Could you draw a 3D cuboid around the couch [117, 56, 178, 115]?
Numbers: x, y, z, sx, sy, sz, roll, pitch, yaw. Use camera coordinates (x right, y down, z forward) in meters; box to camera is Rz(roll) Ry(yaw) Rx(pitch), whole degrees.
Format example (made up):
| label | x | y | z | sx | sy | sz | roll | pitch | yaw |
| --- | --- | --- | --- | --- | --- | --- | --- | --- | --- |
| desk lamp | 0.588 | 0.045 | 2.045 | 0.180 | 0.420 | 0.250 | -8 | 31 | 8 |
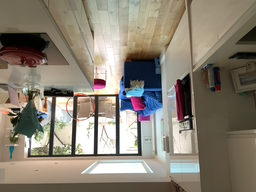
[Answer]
| label | x | y | z | sx | sy | sz | roll | pitch | yaw |
| --- | --- | --- | --- | --- | --- | --- | --- | --- | --- |
| couch | 0.290 | -0.100 | 5.150 | 1.100 | 0.860 | 2.420 | 0 | 169 | -4 |
